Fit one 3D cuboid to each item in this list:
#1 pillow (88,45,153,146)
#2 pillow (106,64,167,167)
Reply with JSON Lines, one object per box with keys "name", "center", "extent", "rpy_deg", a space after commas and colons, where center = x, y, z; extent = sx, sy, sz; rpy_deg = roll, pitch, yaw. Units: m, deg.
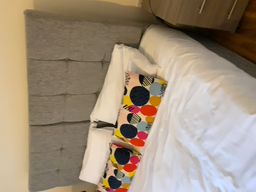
{"name": "pillow", "center": [-0.070, 0.000, 1.530], "extent": [0.170, 0.310, 0.690], "rpy_deg": [37, 126, 40]}
{"name": "pillow", "center": [0.050, 0.130, 1.440], "extent": [0.170, 0.290, 0.620], "rpy_deg": [24, 119, 20]}
